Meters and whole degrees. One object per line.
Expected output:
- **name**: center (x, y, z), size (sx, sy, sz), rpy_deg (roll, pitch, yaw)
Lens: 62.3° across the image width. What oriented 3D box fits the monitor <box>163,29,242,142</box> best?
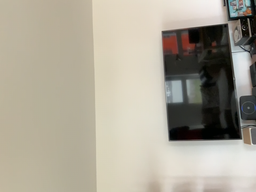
- **monitor**: center (0.770, -0.110, 2.280), size (0.070, 0.710, 1.170), rpy_deg (39, -131, -77)
